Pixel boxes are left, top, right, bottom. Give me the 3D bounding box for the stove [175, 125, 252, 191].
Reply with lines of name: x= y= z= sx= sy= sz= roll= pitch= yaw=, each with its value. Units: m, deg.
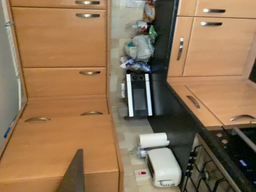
stove: x=0.430 y=0.570 z=1.130 sx=0.600 sy=0.040 sz=0.590 roll=-112 pitch=22 yaw=-60
